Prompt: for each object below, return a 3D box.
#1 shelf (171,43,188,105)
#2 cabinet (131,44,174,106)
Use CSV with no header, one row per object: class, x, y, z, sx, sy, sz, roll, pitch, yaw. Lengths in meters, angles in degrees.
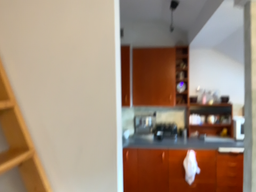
shelf,0.770,-0.310,3.190,0.200,0.880,0.320,0,2,7
cabinet,0.370,-0.300,3.220,0.600,0.870,0.350,0,2,7
